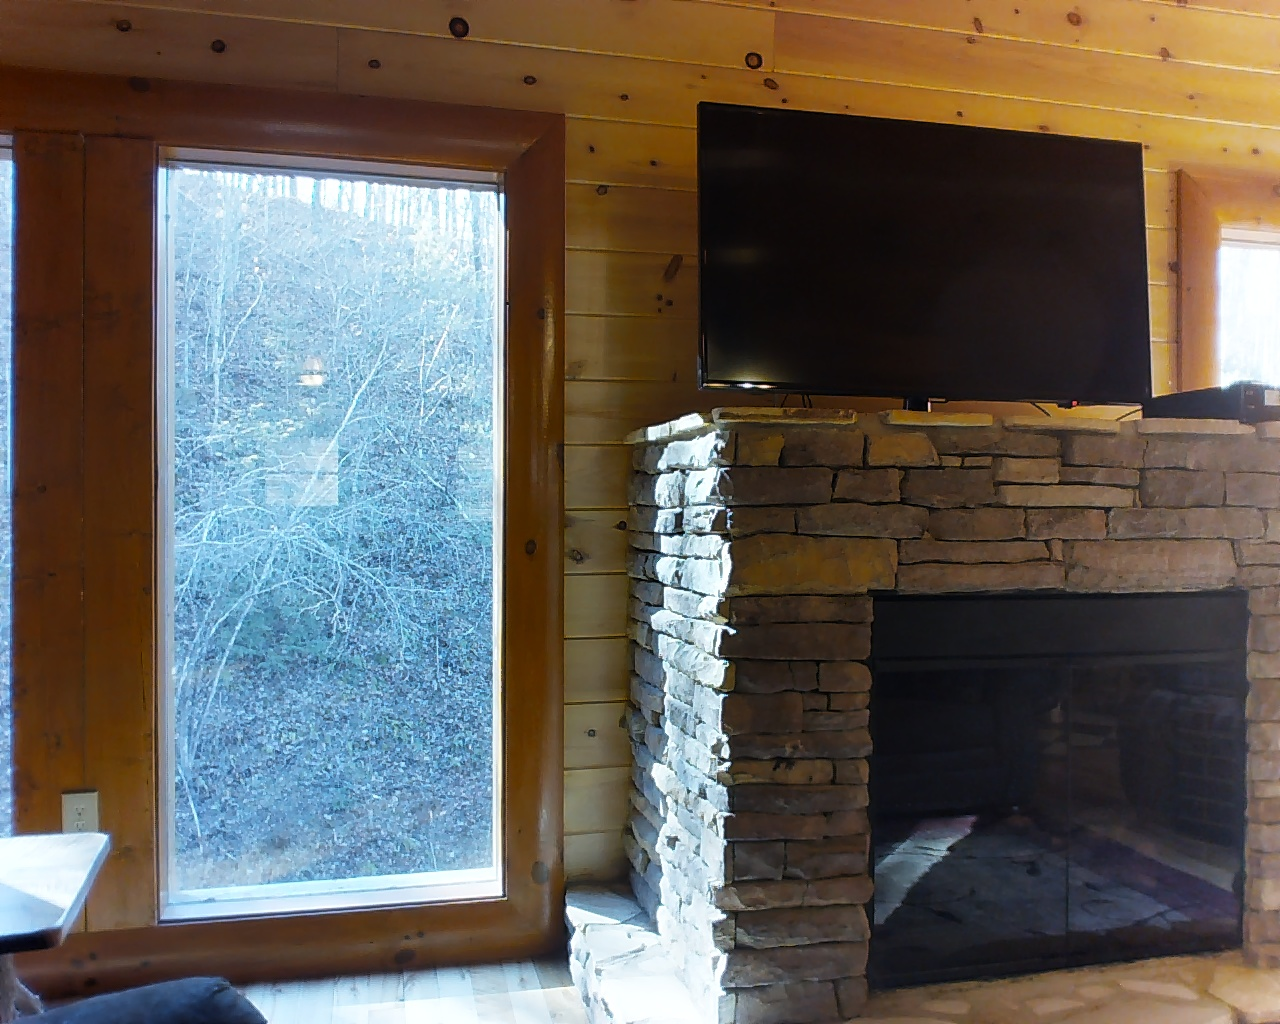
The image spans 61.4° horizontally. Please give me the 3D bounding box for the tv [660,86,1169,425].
[{"bbox_3d":[0.660,-0.570,2.560,1.200,0.690,0.190,0,3,-14],"label":"tv"}]
